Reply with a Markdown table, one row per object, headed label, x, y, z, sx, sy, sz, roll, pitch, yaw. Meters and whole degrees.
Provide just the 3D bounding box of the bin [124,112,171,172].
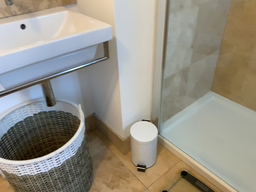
| label | x | y | z | sx | sy | sz | roll | pitch | yaw |
| --- | --- | --- | --- | --- | --- | --- | --- | --- | --- |
| bin | 0.120 | 0.290 | 1.350 | 0.230 | 0.250 | 0.170 | -25 | 42 | -28 |
